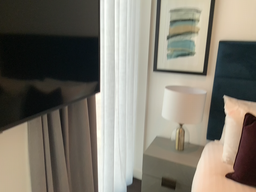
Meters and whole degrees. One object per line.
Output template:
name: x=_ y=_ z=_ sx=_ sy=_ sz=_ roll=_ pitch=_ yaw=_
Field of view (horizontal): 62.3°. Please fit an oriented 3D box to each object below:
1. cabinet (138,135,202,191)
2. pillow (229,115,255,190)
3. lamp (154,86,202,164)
cabinet: x=0.410 y=0.770 z=2.060 sx=0.470 sy=0.550 sz=0.460 roll=9 pitch=16 yaw=24
pillow: x=0.850 y=0.350 z=1.240 sx=0.420 sy=0.390 sz=0.160 roll=9 pitch=8 yaw=25
lamp: x=0.460 y=0.240 z=1.940 sx=0.300 sy=0.580 sz=0.350 roll=9 pitch=16 yaw=24
